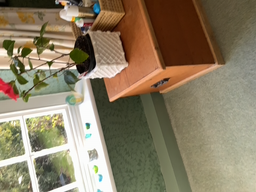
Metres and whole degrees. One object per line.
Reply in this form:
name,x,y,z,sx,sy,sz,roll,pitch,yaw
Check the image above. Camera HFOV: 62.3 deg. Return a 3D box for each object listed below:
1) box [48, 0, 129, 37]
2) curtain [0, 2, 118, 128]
box,-0.210,-0.500,0.990,0.260,0.250,0.350,-25,77,53
curtain,-0.740,-0.150,1.040,0.240,1.440,0.600,31,122,46
